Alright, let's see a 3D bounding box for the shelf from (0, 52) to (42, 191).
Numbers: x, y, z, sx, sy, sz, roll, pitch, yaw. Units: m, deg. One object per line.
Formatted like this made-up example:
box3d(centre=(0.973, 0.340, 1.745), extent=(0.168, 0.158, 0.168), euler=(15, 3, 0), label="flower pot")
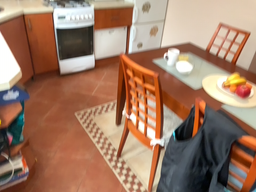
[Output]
box3d(centre=(-0.910, 0.260, 1.270), extent=(0.540, 0.890, 0.370), euler=(-16, 39, -29), label="shelf")
